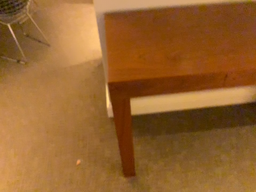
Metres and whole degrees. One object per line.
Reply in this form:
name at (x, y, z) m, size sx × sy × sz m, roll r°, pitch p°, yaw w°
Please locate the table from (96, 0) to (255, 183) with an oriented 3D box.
table at (0.600, -0.010, 1.180) m, size 1.430 × 0.820 × 0.530 m, roll -5°, pitch 47°, yaw -2°
